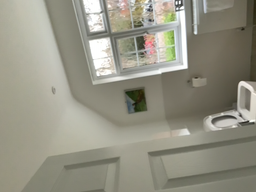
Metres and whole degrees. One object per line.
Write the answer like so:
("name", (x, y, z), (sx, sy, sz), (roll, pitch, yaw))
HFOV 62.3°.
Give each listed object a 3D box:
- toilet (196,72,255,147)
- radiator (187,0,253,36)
("toilet", (1.260, 0.130, 2.420), (0.420, 0.820, 0.630), (-95, -5, -67))
("radiator", (1.050, -1.170, 2.430), (0.140, 0.700, 0.810), (-95, -5, -68))
